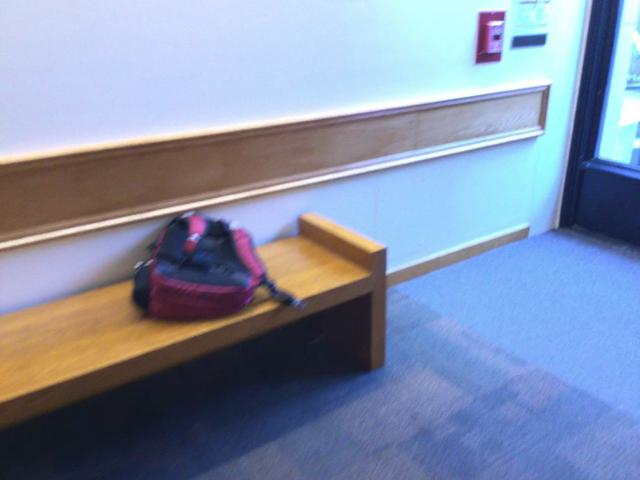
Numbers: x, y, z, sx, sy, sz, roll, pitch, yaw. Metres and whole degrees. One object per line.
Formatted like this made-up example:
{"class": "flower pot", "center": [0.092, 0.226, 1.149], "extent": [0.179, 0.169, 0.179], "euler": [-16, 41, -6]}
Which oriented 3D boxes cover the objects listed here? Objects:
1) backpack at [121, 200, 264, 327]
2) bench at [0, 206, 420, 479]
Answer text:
{"class": "backpack", "center": [-0.400, 0.060, 1.960], "extent": [0.410, 0.250, 0.460], "euler": [-2, 22, -6]}
{"class": "bench", "center": [-0.590, 0.390, 1.890], "extent": [1.910, 0.540, 0.570], "euler": [-14, 27, -32]}
